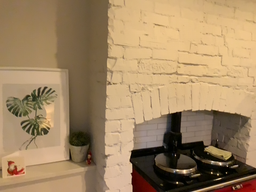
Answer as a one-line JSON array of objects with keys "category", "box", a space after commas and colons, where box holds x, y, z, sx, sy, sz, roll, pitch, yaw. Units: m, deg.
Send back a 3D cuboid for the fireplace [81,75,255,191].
[{"category": "fireplace", "box": [0.520, 0.620, 2.000, 1.730, 1.540, 0.840, -1, 8, -25]}]
